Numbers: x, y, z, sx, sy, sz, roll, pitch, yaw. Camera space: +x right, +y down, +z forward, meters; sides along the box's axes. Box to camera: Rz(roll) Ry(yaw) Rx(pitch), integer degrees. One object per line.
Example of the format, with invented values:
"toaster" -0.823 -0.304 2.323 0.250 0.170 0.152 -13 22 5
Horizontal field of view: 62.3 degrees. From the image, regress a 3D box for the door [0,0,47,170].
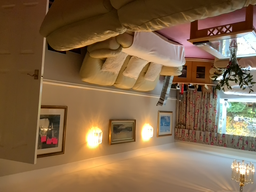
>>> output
"door" -1.280 -0.270 2.430 0.660 2.090 0.070 2 178 18
